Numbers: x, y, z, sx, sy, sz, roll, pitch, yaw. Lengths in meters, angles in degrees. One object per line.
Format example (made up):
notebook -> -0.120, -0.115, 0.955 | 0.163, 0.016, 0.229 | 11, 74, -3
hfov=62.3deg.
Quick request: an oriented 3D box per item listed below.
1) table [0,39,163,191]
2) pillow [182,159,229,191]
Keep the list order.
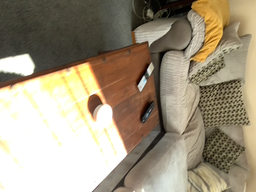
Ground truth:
table -> -0.280, 0.110, 1.110 | 1.230, 0.410, 0.610 | -33, 119, -52
pillow -> 0.820, 0.890, 2.190 | 0.620, 0.320, 0.270 | 3, 90, -57
